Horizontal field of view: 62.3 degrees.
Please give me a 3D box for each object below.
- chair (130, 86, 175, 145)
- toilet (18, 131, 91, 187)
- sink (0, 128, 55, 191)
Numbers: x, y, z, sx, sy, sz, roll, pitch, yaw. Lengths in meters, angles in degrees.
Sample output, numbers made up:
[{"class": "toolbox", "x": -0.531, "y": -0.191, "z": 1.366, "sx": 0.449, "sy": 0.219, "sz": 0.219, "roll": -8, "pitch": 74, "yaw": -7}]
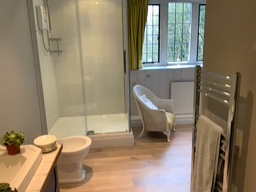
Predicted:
[{"class": "chair", "x": 0.400, "y": 0.260, "z": 3.320, "sx": 0.570, "sy": 0.720, "sz": 0.610, "roll": 4, "pitch": 15, "yaw": 19}, {"class": "toilet", "x": -0.750, "y": 0.660, "z": 2.300, "sx": 0.640, "sy": 0.400, "sz": 0.410, "roll": -2, "pitch": 14, "yaw": -4}, {"class": "sink", "x": -0.710, "y": 0.440, "z": 1.090, "sx": 0.450, "sy": 0.260, "sz": 0.730, "roll": -2, "pitch": 14, "yaw": -5}]
